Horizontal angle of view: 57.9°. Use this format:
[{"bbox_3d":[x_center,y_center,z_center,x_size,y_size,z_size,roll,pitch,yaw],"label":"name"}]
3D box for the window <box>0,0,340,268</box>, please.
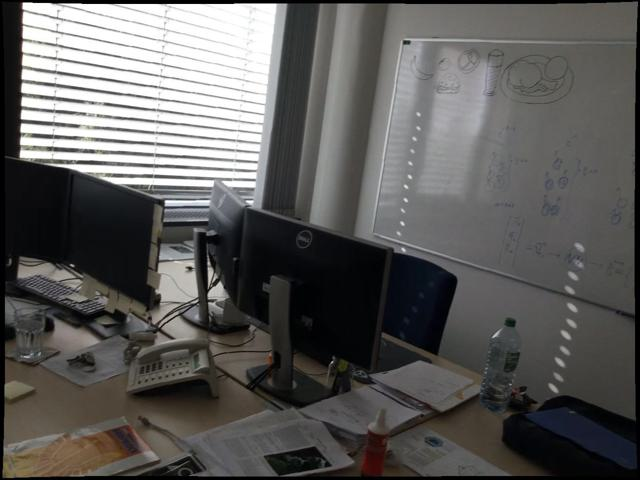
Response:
[{"bbox_3d":[-1.389,-0.521,2.660,0.650,1.121,3.478,21,18,41],"label":"window"}]
